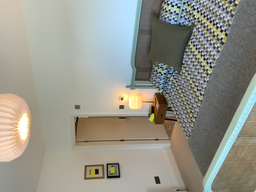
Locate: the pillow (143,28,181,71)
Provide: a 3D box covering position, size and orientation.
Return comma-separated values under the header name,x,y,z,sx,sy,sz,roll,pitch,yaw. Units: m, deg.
name,x,y,z,sx,sy,sz,roll,pitch,yaw
pillow,0.440,-0.620,2.780,0.240,0.430,0.440,25,124,28
